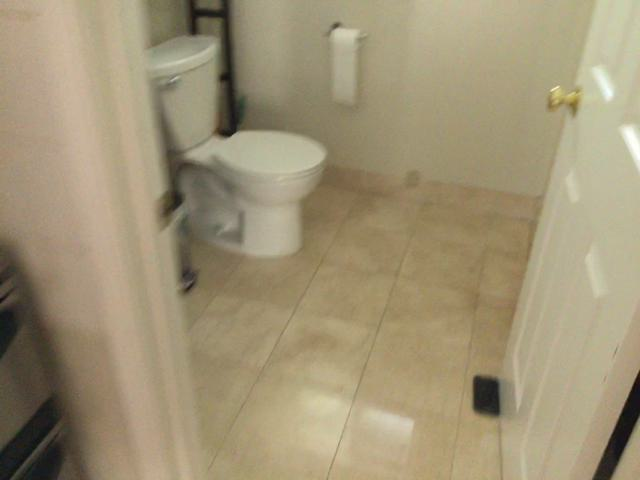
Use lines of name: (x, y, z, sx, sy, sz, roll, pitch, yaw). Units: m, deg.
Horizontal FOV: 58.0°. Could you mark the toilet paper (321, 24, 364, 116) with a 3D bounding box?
toilet paper: (0.090, -0.710, 2.420, 0.150, 0.340, 0.110, 9, 35, 14)
